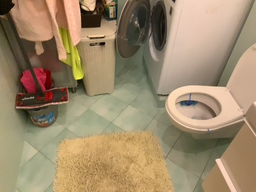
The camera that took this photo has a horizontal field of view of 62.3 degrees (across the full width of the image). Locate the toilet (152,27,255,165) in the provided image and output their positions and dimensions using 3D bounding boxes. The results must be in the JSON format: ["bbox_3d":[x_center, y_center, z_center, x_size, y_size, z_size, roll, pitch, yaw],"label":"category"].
[{"bbox_3d":[0.510,0.040,1.350,0.540,0.820,0.370,-5,46,-9],"label":"toilet"}]
